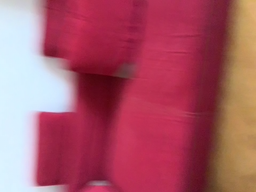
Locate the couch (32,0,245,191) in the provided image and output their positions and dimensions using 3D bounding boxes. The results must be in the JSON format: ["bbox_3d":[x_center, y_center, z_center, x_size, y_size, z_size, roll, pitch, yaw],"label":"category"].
[{"bbox_3d":[0.000,0.020,1.490,0.940,0.940,1.980,14,99,52],"label":"couch"}]

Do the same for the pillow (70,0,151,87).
[{"bbox_3d":[-0.120,-0.490,1.490,0.220,0.410,0.730,19,126,55],"label":"pillow"}]
